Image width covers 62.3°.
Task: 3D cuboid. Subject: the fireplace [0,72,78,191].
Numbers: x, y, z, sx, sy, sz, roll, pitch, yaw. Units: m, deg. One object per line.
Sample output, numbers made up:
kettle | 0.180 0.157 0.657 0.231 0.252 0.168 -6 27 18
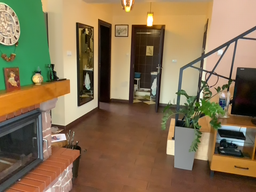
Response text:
fireplace | -1.030 0.490 1.650 0.790 1.180 1.210 6 13 13

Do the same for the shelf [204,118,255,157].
shelf | 1.720 0.550 2.580 1.430 0.300 0.370 6 13 13

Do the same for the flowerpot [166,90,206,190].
flowerpot | 0.720 0.520 2.680 0.330 1.100 0.480 6 13 15
